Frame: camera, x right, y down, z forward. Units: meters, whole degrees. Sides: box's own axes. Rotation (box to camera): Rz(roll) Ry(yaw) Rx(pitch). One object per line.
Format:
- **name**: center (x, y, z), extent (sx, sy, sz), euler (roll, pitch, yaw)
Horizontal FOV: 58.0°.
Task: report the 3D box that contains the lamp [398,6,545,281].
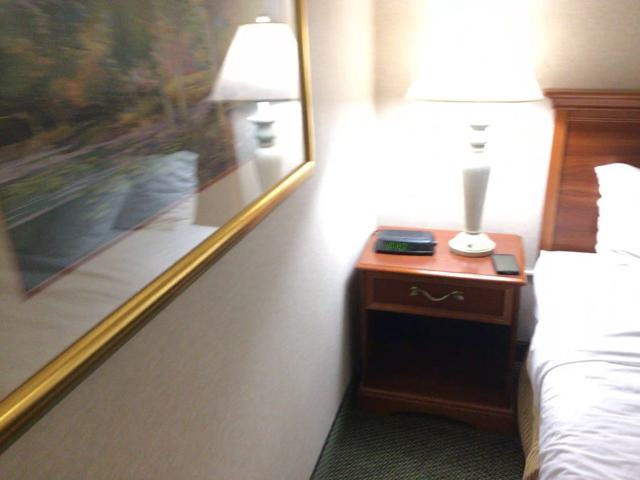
- **lamp**: center (0.510, -0.320, 1.900), extent (0.390, 0.790, 0.420), euler (1, 22, 19)
